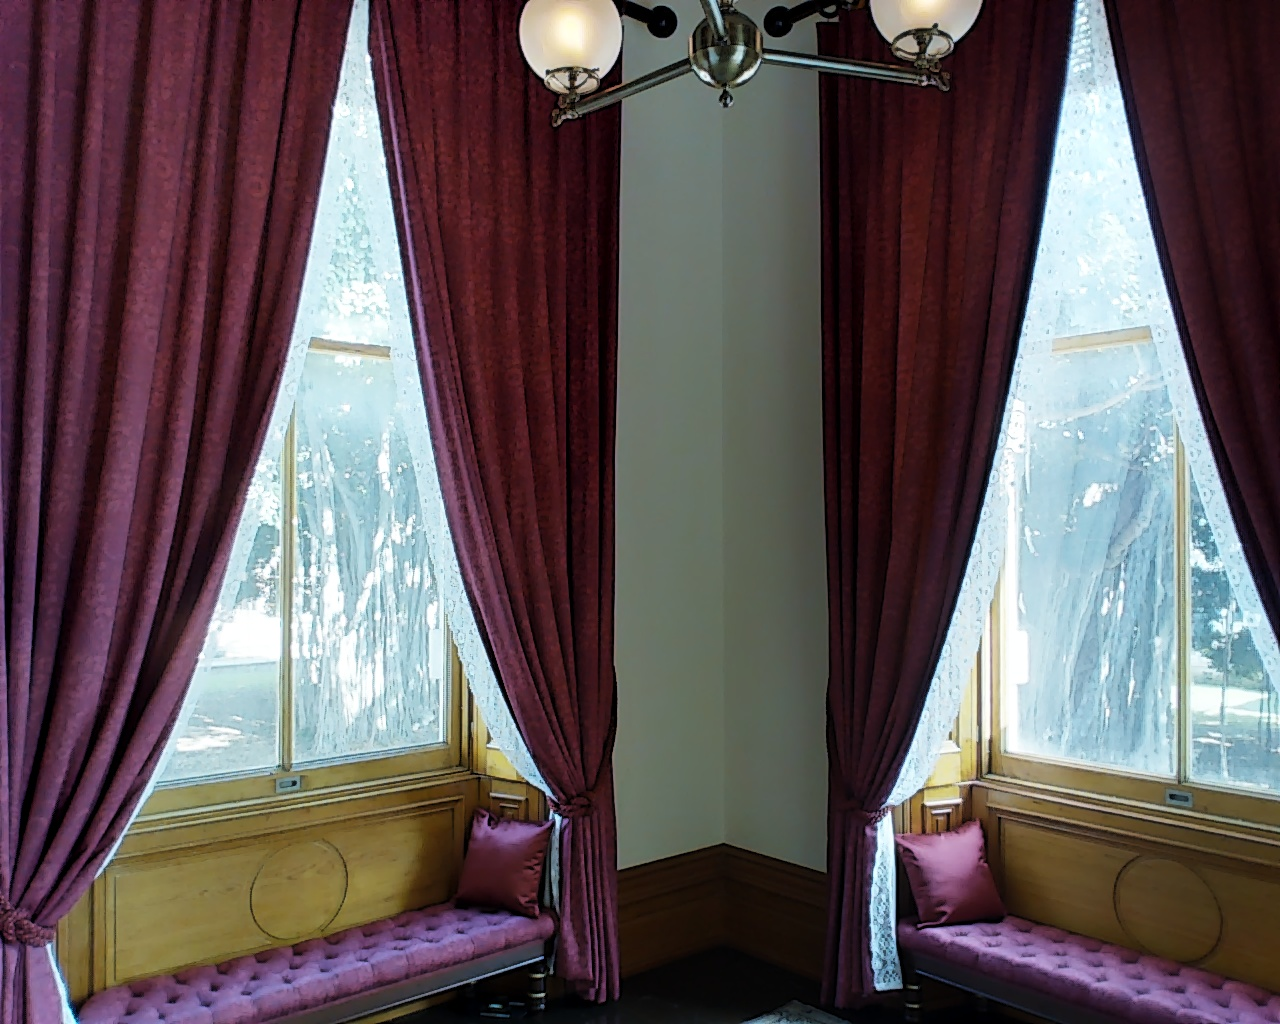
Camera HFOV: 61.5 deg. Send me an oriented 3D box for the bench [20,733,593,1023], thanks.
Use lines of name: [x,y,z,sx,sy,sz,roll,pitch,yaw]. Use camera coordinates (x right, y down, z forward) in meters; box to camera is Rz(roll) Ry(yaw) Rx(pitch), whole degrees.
bench: [-0.920,1.190,3.200,1.530,0.780,0.560,0,0,-40]

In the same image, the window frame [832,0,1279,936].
window frame: [1.370,-0.500,3.040,0.330,3.030,1.870,0,0,-39]

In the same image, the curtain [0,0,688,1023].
curtain: [-0.750,-0.180,3.080,2.020,3.520,0.260,-3,2,-40]

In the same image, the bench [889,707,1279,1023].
bench: [1.470,1.130,3.050,0.520,0.890,1.480,0,0,-39]
